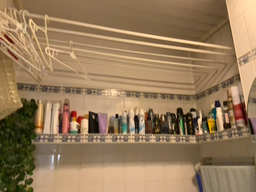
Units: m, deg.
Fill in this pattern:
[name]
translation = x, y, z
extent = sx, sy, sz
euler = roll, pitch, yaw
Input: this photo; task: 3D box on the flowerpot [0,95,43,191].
[flowerpot]
translation = -0.610, 0.340, 1.180
extent = 0.160, 0.650, 0.220
euler = 3, -18, -12
